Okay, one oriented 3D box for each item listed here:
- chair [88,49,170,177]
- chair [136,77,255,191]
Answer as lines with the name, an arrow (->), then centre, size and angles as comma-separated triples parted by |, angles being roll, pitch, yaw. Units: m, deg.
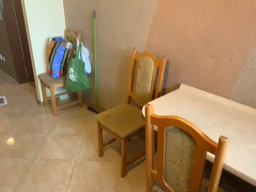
chair -> 0.000, 0.130, 1.900 | 0.500, 0.950, 0.420 | -21, 34, -38
chair -> 0.370, 0.460, 1.240 | 0.390, 0.980, 0.520 | 25, 35, 39
